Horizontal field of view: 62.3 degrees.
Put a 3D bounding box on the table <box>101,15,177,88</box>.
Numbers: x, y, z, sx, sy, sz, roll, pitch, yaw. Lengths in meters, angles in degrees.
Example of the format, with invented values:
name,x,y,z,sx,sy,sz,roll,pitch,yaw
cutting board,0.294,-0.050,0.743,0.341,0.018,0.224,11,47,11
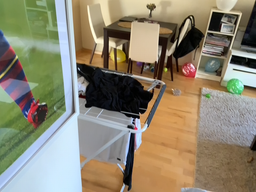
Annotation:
name,x,y,z,sx,sy,sz,roll,pitch,yaw
table,0.190,-0.760,3.400,0.950,0.770,0.910,13,32,13

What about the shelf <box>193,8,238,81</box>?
name,x,y,z,sx,sy,sz,roll,pitch,yaw
shelf,1.340,-0.790,3.330,0.380,1.030,0.290,13,32,14
